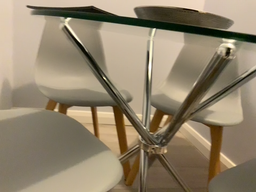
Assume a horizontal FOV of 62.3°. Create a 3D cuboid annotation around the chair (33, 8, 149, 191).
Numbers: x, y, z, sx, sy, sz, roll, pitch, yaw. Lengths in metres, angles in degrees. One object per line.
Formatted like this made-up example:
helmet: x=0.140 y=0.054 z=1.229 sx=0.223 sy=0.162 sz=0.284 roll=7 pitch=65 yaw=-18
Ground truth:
chair: x=-0.250 y=-0.010 z=1.160 sx=0.420 sy=0.790 sz=0.450 roll=-1 pitch=18 yaw=-31
